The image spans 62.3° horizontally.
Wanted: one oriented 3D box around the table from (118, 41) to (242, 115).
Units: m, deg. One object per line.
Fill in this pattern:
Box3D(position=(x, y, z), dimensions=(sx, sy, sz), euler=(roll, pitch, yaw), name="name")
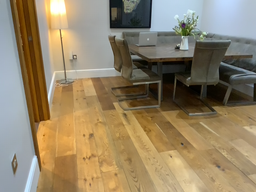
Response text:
Box3D(position=(0.670, -0.420, 3.490), dimensions=(1.370, 0.760, 1.500), euler=(-4, 21, -14), name="table")
